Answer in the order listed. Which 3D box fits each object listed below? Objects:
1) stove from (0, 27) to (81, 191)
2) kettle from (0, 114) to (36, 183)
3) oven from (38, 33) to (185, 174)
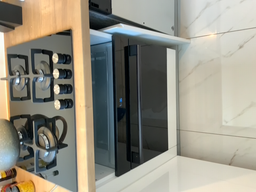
[{"bbox_3d":[-0.410,0.060,0.910,0.540,0.050,0.600,2,94,37],"label":"stove"},{"bbox_3d":[-0.520,0.210,0.890,0.160,0.190,0.230,5,97,37],"label":"kettle"},{"bbox_3d":[-0.070,0.010,1.330,0.610,0.670,0.590,2,94,37],"label":"oven"}]
